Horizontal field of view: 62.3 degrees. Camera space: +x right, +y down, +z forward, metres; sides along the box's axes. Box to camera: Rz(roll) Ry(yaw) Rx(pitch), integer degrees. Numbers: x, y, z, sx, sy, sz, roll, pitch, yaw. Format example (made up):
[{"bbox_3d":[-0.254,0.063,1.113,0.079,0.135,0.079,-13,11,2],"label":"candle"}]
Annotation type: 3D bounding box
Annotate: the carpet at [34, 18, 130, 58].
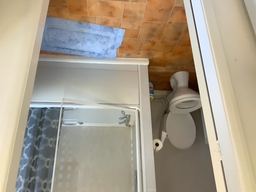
[{"bbox_3d":[-0.410,-0.530,2.010,0.800,0.060,0.420,2,156,-8],"label":"carpet"}]
